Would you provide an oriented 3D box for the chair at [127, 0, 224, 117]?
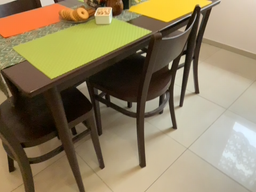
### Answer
[{"bbox_3d":[0.300,-0.330,1.520,0.450,0.750,0.400,-31,47,-31],"label":"chair"}]

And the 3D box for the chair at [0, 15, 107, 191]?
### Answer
[{"bbox_3d":[-0.420,0.110,0.990,0.450,0.770,0.360,-29,46,-30],"label":"chair"}]

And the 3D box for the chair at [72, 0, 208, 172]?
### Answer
[{"bbox_3d":[0.060,-0.060,1.190,0.440,0.770,0.420,30,49,33],"label":"chair"}]
